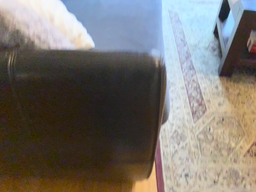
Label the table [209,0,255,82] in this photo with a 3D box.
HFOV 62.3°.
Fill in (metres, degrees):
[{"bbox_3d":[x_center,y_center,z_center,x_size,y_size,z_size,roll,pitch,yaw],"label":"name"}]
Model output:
[{"bbox_3d":[0.970,-0.480,1.430,0.670,0.460,0.680,9,47,8],"label":"table"}]
